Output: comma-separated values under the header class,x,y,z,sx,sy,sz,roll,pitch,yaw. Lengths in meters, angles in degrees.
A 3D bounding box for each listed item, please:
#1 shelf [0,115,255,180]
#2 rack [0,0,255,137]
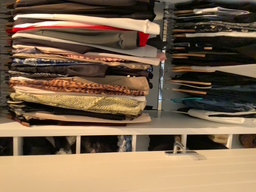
class,x,y,z,sx,sy,sz,roll,pitch,yaw
shelf,0.020,0.280,1.280,0.330,2.400,0.240,-150,63,-76
rack,0.230,-0.930,1.170,0.520,2.020,2.220,-144,57,-75
